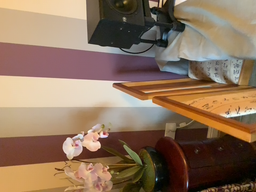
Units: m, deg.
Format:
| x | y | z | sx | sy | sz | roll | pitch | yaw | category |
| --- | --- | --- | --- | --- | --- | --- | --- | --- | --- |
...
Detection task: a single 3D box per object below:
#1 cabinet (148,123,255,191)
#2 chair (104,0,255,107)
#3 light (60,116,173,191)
| x | y | z | sx | sy | sz | roll | pitch | yaw | category |
| --- | --- | --- | --- | --- | --- | --- | --- | --- | --- |
| 0.530 | 0.440 | 1.460 | 0.380 | 0.650 | 0.380 | -156 | 68 | -66 | cabinet |
| 0.430 | -0.250 | 1.270 | 0.500 | 1.020 | 0.530 | -156 | 68 | -66 | chair |
| -0.080 | 0.360 | 1.300 | 0.300 | 0.610 | 0.410 | -164 | 75 | -67 | light |
